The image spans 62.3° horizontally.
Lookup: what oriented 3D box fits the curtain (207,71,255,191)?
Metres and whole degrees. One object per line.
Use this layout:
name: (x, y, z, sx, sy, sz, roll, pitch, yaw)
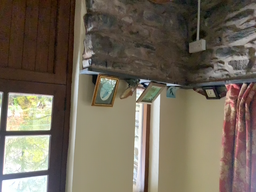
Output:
curtain: (0.840, 0.470, 1.660, 0.220, 1.280, 0.330, 5, 176, -32)
